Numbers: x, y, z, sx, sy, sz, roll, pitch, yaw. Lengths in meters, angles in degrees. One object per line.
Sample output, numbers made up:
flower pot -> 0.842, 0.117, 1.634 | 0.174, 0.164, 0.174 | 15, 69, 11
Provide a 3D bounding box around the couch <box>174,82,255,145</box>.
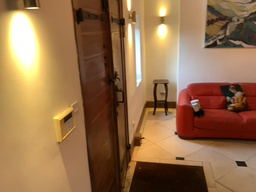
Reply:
couch -> 2.020, 0.260, 4.020 | 2.190, 0.760, 1.210 | 1, 18, 10
